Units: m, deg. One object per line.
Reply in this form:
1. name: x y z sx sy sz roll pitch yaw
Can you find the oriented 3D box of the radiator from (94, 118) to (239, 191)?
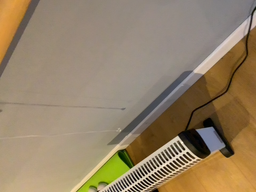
1. radiator: 0.170 0.330 0.970 0.580 0.390 0.140 -45 61 25
